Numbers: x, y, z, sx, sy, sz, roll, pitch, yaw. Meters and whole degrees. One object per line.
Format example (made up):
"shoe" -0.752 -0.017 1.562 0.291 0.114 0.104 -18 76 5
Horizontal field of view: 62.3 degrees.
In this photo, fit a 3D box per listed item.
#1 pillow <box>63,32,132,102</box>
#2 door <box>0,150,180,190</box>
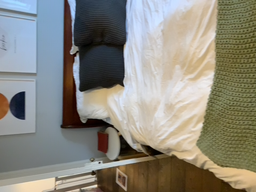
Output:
"pillow" -0.240 -0.230 1.760 0.380 0.420 0.130 -56 29 -14
"door" -0.520 0.680 1.870 0.800 1.920 0.050 -38 58 53
